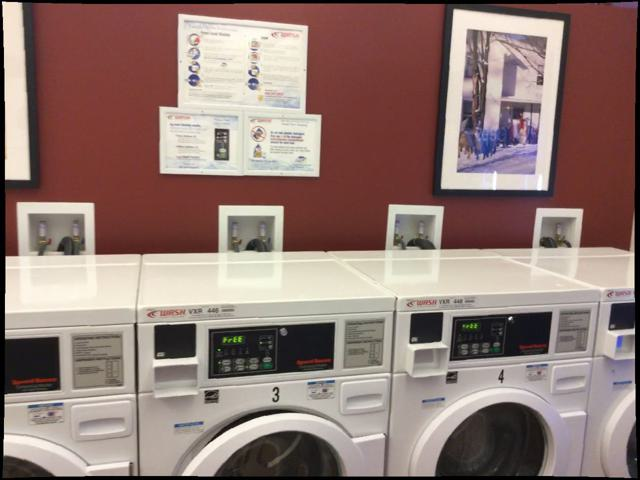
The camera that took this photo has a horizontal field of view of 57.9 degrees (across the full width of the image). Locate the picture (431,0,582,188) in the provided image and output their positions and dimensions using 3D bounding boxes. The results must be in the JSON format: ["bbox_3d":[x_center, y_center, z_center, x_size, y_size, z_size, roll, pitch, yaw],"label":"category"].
[{"bbox_3d":[0.779,-0.611,2.430,0.599,0.781,0.070,-1,11,-15],"label":"picture"}]

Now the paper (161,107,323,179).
[{"bbox_3d":[-0.290,-0.360,2.180,0.589,0.250,0.100,-1,11,-15],"label":"paper"}]

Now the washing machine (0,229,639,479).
[{"bbox_3d":[0.130,0.601,2.030,2.787,1.081,1.000,-1,11,-15],"label":"washing machine"}]
